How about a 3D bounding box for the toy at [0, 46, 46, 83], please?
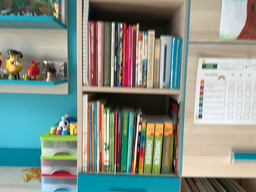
[{"bbox_3d":[-0.710,-0.150,0.980,0.600,0.150,0.150,2,7,1],"label":"toy"}]
